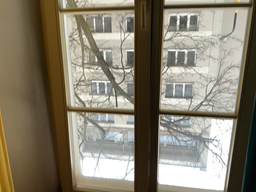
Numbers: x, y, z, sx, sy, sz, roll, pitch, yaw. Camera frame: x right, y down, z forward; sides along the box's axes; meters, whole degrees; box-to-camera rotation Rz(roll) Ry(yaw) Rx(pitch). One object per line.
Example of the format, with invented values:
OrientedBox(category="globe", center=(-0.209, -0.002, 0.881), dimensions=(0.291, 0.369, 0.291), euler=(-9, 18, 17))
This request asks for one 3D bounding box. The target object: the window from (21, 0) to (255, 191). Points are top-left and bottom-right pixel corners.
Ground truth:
OrientedBox(category="window", center=(0.110, -0.150, 1.080), dimensions=(1.200, 1.840, 0.180), euler=(2, -163, 8))
